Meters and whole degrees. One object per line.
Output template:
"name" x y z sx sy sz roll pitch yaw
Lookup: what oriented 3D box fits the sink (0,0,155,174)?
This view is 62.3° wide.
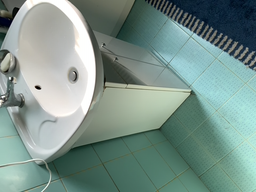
"sink" -0.270 -0.110 0.790 0.570 0.210 0.450 50 118 25
